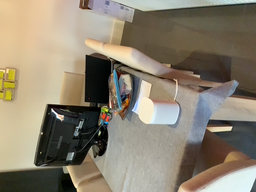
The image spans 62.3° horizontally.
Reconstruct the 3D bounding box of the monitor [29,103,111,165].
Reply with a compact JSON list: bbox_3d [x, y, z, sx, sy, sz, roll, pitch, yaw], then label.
[{"bbox_3d":[-0.470,0.340,1.730,0.560,0.460,0.040,-58,36,21],"label":"monitor"}]
